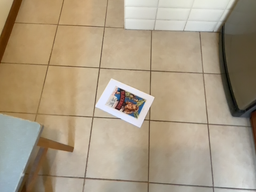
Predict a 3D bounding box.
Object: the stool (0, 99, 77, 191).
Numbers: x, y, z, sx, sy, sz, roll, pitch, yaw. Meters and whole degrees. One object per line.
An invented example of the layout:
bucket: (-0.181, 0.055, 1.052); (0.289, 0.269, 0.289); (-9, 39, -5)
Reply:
stool: (-0.480, 0.240, 0.900); (0.340, 0.460, 0.310); (14, 68, 5)
